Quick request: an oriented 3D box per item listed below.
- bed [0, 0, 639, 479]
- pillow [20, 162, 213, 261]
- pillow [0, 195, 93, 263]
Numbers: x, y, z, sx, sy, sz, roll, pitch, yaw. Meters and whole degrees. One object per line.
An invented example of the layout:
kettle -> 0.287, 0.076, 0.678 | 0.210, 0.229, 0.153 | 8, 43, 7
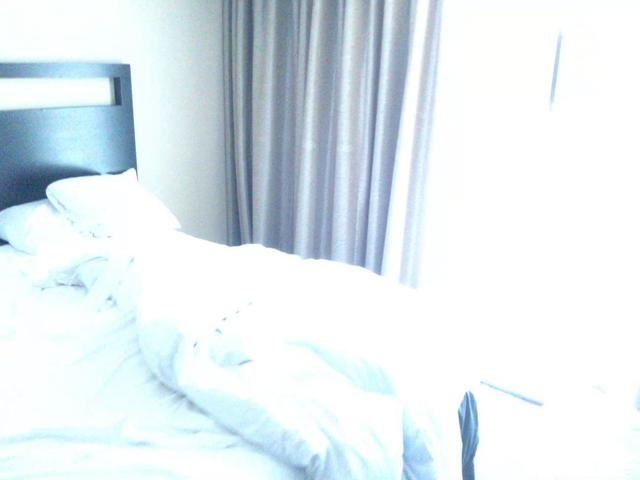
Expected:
bed -> -0.610, 0.210, 1.830 | 2.420, 1.530, 1.730 | 12, 16, 35
pillow -> -0.960, -0.170, 2.790 | 0.540, 0.330, 0.680 | 12, 16, 35
pillow -> -1.220, -0.060, 2.470 | 0.410, 0.190, 0.280 | 12, 16, 35
